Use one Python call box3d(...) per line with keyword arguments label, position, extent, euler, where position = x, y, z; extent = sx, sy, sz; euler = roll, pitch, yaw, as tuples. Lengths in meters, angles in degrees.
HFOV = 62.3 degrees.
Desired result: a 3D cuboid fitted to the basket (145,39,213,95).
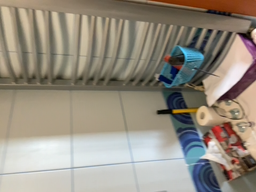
box3d(label="basket", position=(0.220, -0.120, 0.980), extent=(0.240, 0.200, 0.120), euler=(114, 150, -52))
